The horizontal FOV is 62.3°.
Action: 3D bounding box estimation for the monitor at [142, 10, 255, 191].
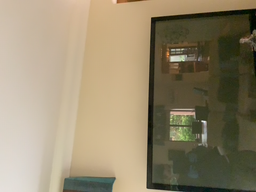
[{"bbox_3d":[0.480,0.000,1.340,0.060,0.740,1.160,54,-143,-71],"label":"monitor"}]
